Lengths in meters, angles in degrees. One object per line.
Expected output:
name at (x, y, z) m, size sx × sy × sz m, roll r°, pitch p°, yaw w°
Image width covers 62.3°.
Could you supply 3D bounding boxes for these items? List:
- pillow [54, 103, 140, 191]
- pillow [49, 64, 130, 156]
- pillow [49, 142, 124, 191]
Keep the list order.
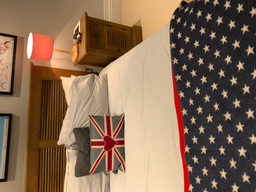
pillow at (-0.270, 0.430, 1.840) m, size 0.230 × 0.570 × 0.580 m, roll 18°, pitch -126°, yaw -72°
pillow at (-0.400, 0.150, 2.160) m, size 0.220 × 0.590 × 0.740 m, roll -7°, pitch -105°, yaw -67°
pillow at (-0.360, 0.850, 1.990) m, size 0.220 × 0.550 × 0.670 m, roll 9°, pitch -117°, yaw -76°
